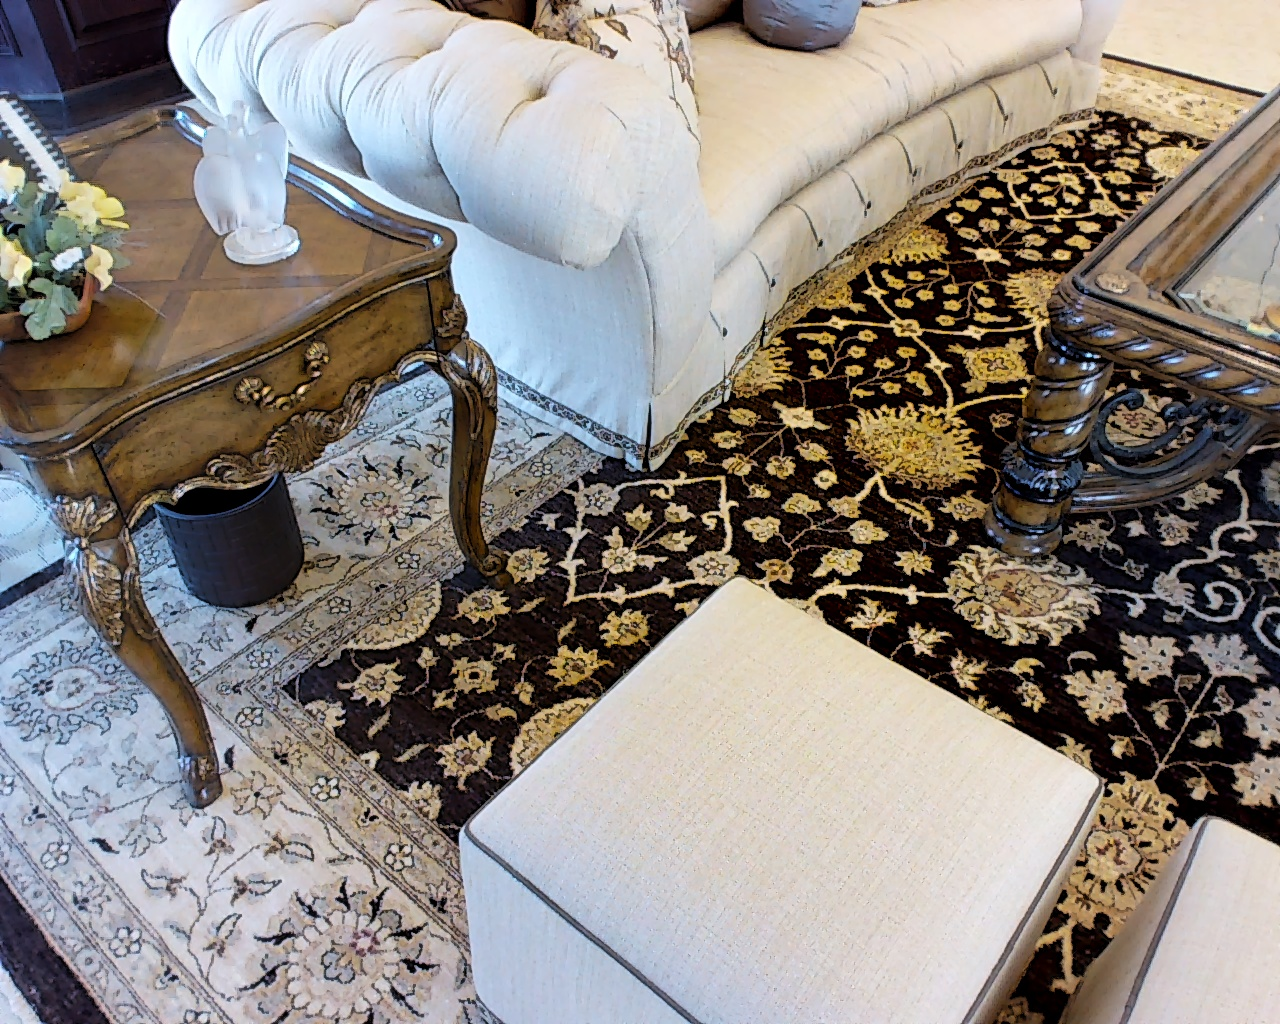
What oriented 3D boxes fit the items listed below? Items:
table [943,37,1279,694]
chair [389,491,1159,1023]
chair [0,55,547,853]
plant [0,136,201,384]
[{"bbox_3d":[1.560,-0.340,2.130,1.150,0.570,1.620,28,48,28],"label":"table"},{"bbox_3d":[0.160,0.440,1.310,0.600,0.510,0.600,26,47,26],"label":"chair"},{"bbox_3d":[-0.800,-0.180,1.800,0.950,0.740,0.810,30,49,30],"label":"chair"},{"bbox_3d":[-0.810,-0.330,1.390,0.250,0.160,0.330,30,49,29],"label":"plant"}]
